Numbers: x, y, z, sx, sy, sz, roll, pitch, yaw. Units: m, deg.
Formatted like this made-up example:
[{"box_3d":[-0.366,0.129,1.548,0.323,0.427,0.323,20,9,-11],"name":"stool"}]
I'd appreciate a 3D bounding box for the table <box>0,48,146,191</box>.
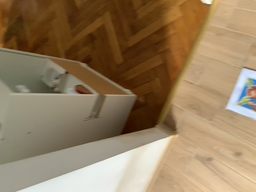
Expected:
[{"box_3d":[-0.430,0.050,1.250,0.680,0.800,0.380,31,107,31],"name":"table"}]
